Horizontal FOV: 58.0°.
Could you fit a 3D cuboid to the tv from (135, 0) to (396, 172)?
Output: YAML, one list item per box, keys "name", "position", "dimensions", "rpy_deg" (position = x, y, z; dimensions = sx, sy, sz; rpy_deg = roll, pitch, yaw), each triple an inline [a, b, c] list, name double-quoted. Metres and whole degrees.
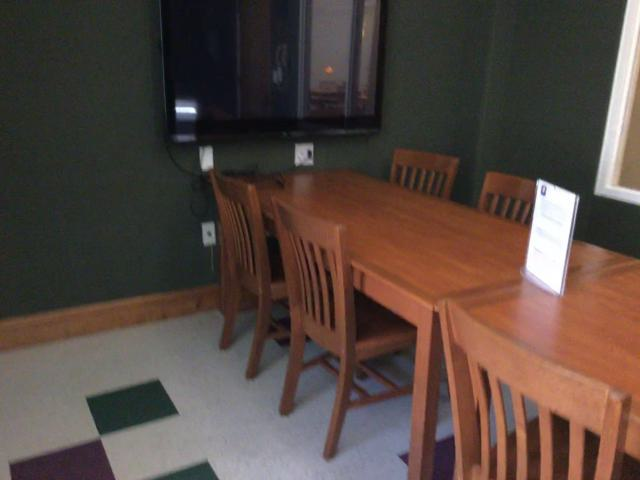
- name: "tv"
  position: [-0.230, -0.900, 2.960]
  dimensions: [1.280, 0.950, 0.290]
  rpy_deg: [-9, 18, -27]
